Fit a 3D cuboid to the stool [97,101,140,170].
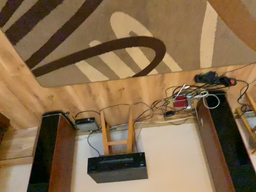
[{"bbox_3d":[-0.080,0.360,1.920,0.310,0.480,0.350,-6,145,3],"label":"stool"}]
